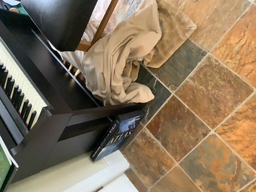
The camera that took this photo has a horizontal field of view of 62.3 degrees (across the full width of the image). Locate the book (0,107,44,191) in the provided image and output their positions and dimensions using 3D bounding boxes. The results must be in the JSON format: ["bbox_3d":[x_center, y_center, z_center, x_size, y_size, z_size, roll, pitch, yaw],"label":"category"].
[{"bbox_3d":[-0.530,0.260,0.880,0.290,0.120,0.300,50,118,20],"label":"book"}]
